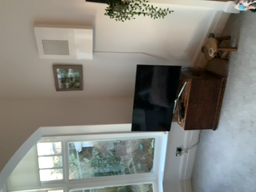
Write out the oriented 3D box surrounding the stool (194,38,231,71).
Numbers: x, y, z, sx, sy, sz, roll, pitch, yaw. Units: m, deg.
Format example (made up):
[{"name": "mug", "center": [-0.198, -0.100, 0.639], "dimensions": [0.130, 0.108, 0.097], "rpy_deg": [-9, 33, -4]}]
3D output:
[{"name": "stool", "center": [1.010, -0.500, 2.570], "dimensions": [0.270, 0.250, 0.280], "rpy_deg": [101, 164, -44]}]
